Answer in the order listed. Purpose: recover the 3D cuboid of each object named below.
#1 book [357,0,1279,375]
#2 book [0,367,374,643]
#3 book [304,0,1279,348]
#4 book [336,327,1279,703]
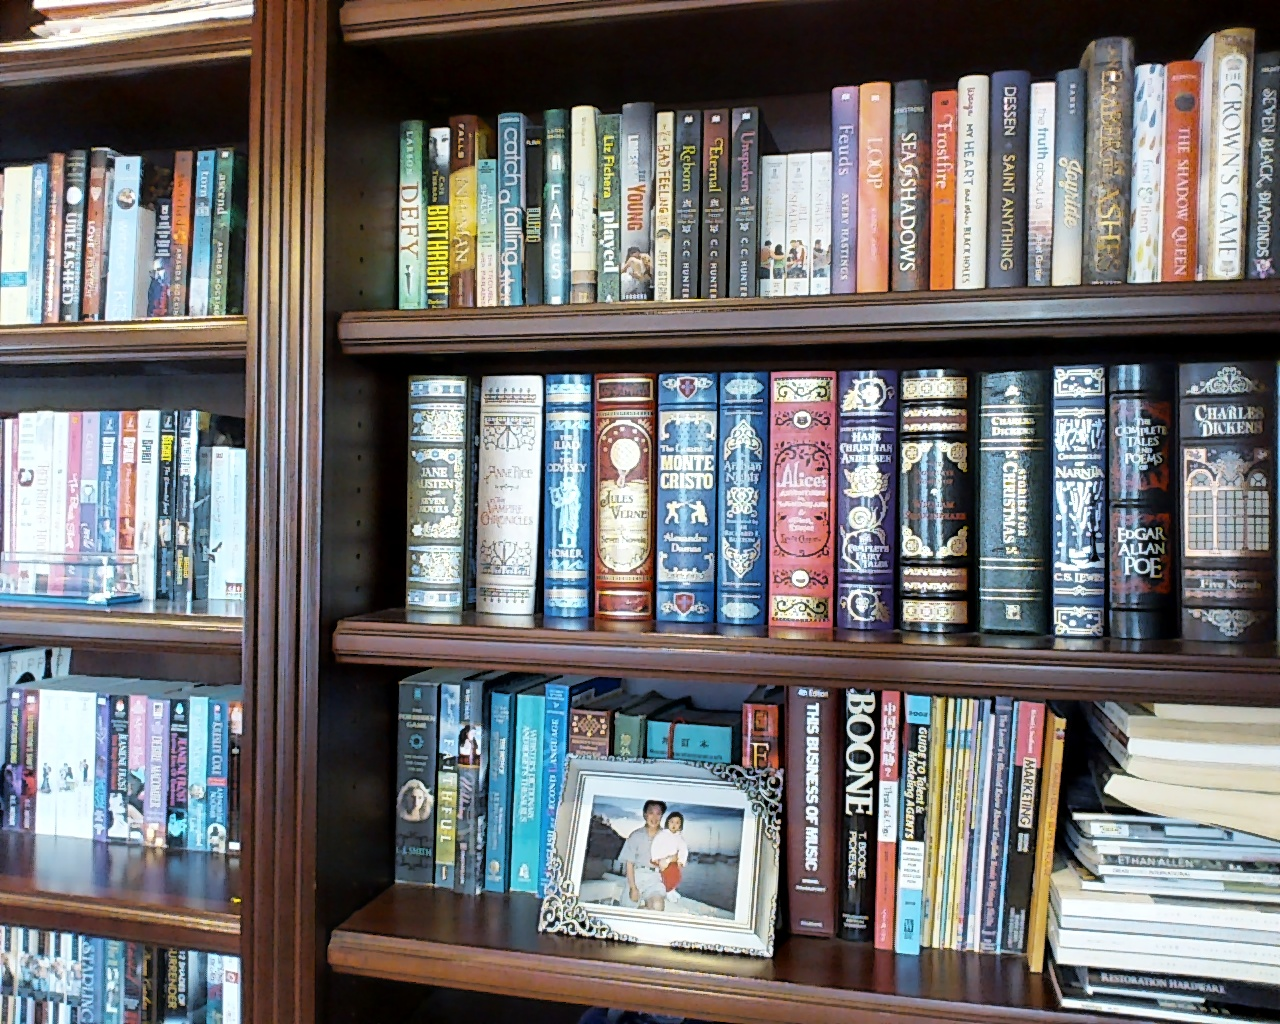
[{"bbox_3d":[0.220,-0.280,1.000,0.940,0.260,0.210,0,0,12],"label":"book"},{"bbox_3d":[-0.790,-0.010,1.230,0.930,0.260,0.240,0,0,13],"label":"book"},{"bbox_3d":[0.190,-0.290,0.960,0.950,0.230,0.220,0,0,12],"label":"book"},{"bbox_3d":[0.200,0.000,0.960,0.950,0.290,0.140,0,0,12],"label":"book"}]
